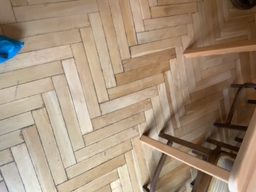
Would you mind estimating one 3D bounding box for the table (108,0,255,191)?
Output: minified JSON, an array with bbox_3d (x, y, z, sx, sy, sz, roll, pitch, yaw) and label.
[{"bbox_3d":[0.830,0.290,1.320,1.580,0.760,0.770,34,77,-28],"label":"table"}]
